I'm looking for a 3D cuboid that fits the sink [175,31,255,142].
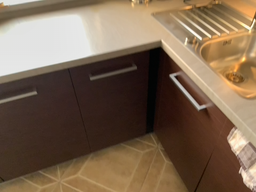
[{"bbox_3d":[0.580,-0.090,0.980,0.560,0.190,0.410,-15,46,-14],"label":"sink"}]
